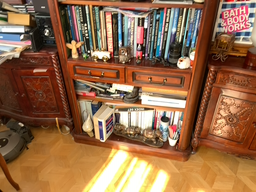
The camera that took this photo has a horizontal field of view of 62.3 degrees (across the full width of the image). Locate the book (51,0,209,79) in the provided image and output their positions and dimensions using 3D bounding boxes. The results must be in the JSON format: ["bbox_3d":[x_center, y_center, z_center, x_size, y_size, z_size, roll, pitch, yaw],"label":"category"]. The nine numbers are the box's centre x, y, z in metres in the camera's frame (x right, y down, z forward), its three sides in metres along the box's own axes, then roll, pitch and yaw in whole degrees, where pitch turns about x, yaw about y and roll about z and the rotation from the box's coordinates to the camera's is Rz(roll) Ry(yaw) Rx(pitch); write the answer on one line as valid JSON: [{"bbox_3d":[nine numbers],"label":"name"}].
[{"bbox_3d":[0.030,-0.420,1.380,0.860,0.360,0.410,8,37,12],"label":"book"}]
